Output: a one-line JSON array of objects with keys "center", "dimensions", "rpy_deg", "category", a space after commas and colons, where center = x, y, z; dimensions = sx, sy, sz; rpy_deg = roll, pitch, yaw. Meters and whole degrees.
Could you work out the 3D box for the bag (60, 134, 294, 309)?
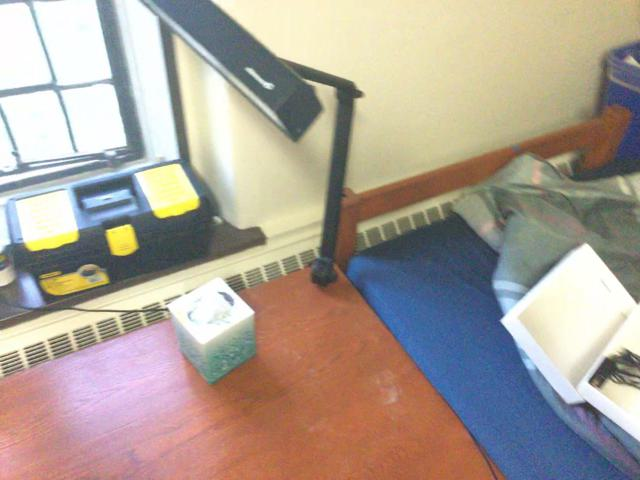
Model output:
[{"center": [-0.290, -0.050, 1.240], "dimensions": [0.430, 0.200, 0.180], "rpy_deg": [-18, 45, -22], "category": "bag"}]
